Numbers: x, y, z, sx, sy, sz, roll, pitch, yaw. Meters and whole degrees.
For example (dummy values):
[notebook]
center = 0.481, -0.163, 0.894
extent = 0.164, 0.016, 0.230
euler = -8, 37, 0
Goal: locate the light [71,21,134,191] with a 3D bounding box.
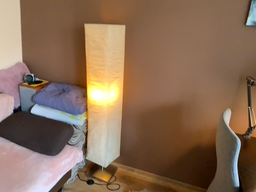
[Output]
[light]
center = -0.260, 0.140, 2.020
extent = 0.380, 1.570, 0.380
euler = 10, 18, 13

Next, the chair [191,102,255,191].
[chair]
center = 0.750, 0.650, 1.360
extent = 0.600, 0.980, 0.650
euler = 12, 19, 18

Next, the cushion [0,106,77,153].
[cushion]
center = -0.850, 0.280, 1.930
extent = 0.680, 0.160, 0.320
euler = 11, 18, 14
